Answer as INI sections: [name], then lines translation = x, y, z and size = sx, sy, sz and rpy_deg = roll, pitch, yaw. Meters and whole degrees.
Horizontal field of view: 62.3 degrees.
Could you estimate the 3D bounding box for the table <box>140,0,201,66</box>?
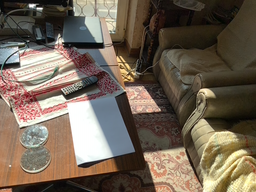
[table]
translation = 0.370, -0.620, 2.050
size = 0.370, 0.610, 0.270
rpy_deg = -2, 45, -12
